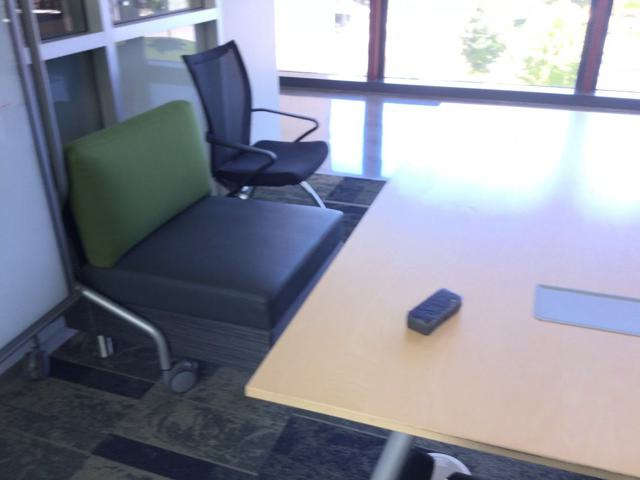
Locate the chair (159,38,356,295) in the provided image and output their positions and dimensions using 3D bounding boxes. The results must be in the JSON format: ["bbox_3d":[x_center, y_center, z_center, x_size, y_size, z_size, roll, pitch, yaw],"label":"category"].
[{"bbox_3d":[-0.220,-0.350,2.560,0.610,0.960,0.530,8,29,20],"label":"chair"}]
